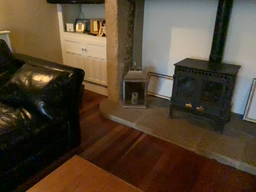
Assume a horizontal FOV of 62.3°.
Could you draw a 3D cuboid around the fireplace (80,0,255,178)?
[{"bbox_3d":[0.730,-0.400,1.940,2.260,1.580,0.910,17,28,30],"label":"fireplace"}]
